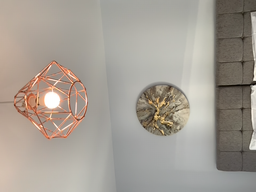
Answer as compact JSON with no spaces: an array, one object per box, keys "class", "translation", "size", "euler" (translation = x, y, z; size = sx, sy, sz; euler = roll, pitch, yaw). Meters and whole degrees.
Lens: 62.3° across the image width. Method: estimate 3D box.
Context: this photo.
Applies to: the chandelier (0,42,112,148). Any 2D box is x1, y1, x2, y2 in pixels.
[{"class":"chandelier","translation":[-0.350,-0.030,1.190],"size":[0.510,0.360,0.460],"euler":[-38,126,-76]}]
